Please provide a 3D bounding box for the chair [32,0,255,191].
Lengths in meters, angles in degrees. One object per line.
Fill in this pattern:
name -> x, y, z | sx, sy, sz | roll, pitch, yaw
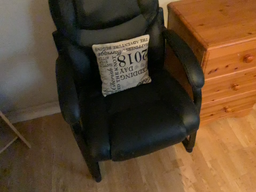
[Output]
chair -> 0.000, -0.060, 1.110 | 0.620, 0.890, 0.720 | -16, 49, -9

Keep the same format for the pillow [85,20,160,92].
pillow -> -0.020, -0.190, 1.080 | 0.290, 0.250, 0.060 | -36, 43, 10
